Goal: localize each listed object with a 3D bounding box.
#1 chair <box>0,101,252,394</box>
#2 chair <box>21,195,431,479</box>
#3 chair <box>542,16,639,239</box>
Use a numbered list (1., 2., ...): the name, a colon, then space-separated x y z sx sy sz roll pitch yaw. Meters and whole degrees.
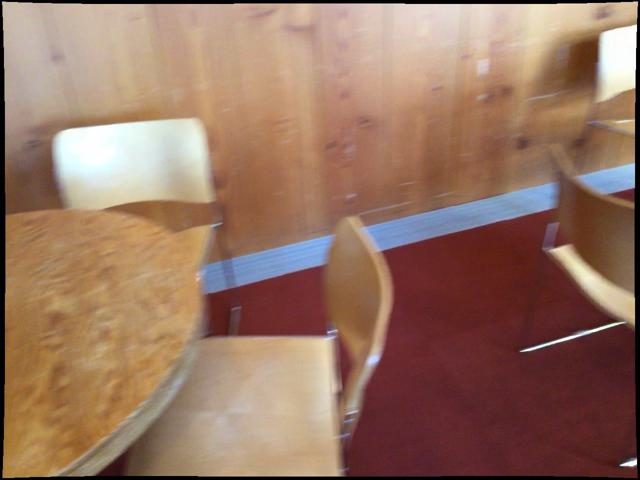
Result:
1. chair: -0.539 0.010 1.840 0.499 0.670 0.640 -2 35 2
2. chair: -0.140 0.360 1.280 0.609 0.700 0.530 -5 35 -2
3. chair: 1.399 -0.490 2.420 0.460 0.670 0.710 -12 36 -13
